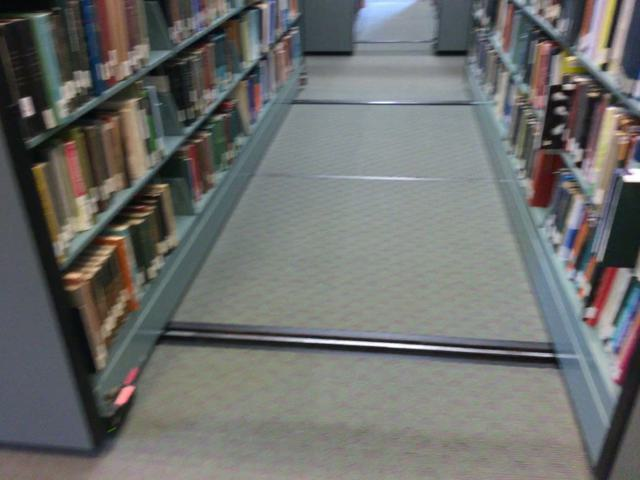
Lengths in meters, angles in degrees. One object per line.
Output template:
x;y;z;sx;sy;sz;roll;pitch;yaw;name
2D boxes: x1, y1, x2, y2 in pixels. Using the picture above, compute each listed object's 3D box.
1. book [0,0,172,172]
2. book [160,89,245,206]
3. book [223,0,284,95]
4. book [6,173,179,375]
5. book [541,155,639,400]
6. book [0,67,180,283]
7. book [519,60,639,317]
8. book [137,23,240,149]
-0.640;-0.490;1.500;0.210;0.350;0.790;2;29;6;book
-0.500;-0.450;2.610;0.120;0.250;0.840;2;29;6;book
-0.340;-1.120;3.190;0.100;0.370;1.020;2;29;6;book
-0.630;0.060;1.740;0.160;0.280;0.690;2;29;6;book
0.810;0.040;1.670;0.090;0.270;0.900;2;29;6;book
-0.650;-0.240;1.650;0.200;0.320;0.820;2;29;6;book
0.730;-0.200;1.500;0.200;0.340;0.880;2;29;6;book
-0.510;-0.680;2.420;0.130;0.310;0.870;2;29;6;book
